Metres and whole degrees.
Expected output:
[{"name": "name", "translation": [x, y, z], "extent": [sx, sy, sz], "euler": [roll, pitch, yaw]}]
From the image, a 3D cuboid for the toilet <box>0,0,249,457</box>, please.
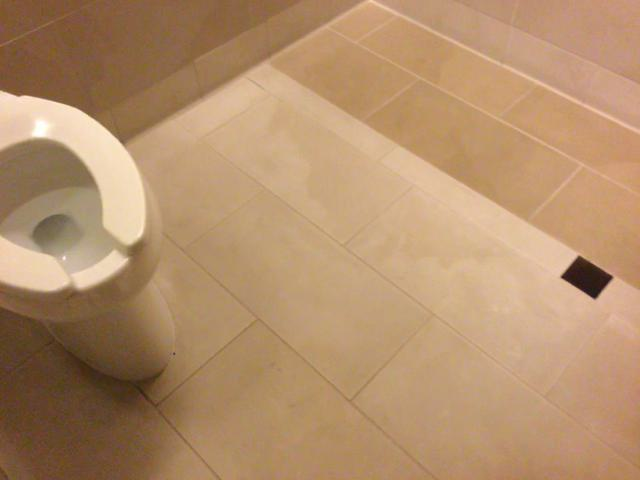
[{"name": "toilet", "translation": [-0.590, -0.080, 1.170], "extent": [0.740, 0.730, 0.390], "euler": [35, 61, 27]}]
